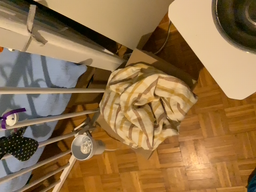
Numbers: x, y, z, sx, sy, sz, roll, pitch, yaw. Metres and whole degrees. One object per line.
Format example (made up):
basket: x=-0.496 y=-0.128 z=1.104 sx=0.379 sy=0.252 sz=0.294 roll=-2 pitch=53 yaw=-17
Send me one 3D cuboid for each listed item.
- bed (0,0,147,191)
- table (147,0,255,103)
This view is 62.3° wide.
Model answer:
bed: x=-0.610 y=0.180 z=0.870 sx=0.630 sy=0.790 sz=1.280 roll=33 pitch=102 yaw=17
table: x=0.350 y=-0.220 z=0.690 sx=0.330 sy=0.470 sz=0.330 roll=-40 pitch=78 yaw=17
